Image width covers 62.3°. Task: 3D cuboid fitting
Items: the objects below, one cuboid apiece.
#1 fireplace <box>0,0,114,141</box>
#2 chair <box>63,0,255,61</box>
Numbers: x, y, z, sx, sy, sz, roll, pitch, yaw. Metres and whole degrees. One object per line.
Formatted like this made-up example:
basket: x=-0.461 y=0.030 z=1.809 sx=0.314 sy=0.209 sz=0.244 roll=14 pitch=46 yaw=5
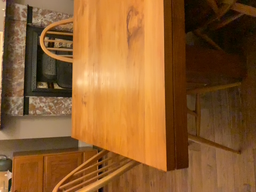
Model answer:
fireplace: x=-0.900 y=-0.340 z=2.650 sx=0.700 sy=1.220 sz=1.640 roll=-14 pitch=76 yaw=59
chair: x=0.280 y=-0.480 z=0.860 sx=0.550 sy=0.930 sz=0.490 roll=0 pitch=88 yaw=61
